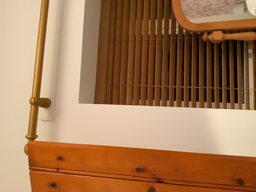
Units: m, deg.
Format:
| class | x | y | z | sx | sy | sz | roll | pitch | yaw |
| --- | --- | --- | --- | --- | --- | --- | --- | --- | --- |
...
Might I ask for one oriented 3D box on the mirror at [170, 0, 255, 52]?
| class | x | y | z | sx | sy | sz | roll | pitch | yaw |
| --- | --- | --- | --- | --- | --- | --- | --- | --- | --- |
| mirror | 0.500 | -0.560 | 1.170 | 0.200 | 0.500 | 0.560 | 25 | -113 | -72 |
